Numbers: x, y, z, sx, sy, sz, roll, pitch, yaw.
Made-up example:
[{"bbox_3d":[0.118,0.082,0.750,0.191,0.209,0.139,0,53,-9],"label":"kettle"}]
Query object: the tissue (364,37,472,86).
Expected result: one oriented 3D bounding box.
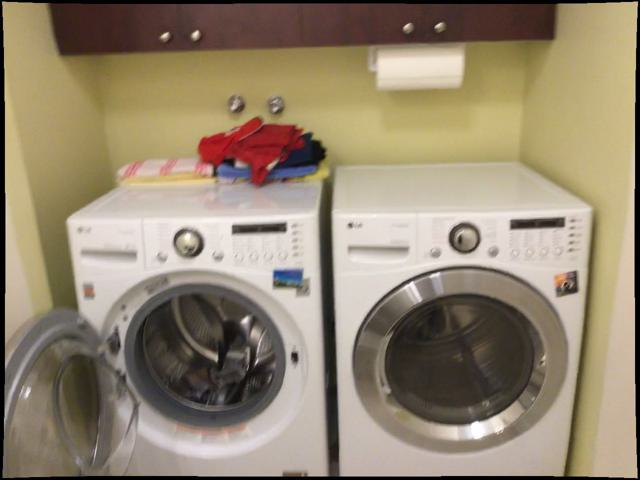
[{"bbox_3d":[0.320,-0.601,1.940,0.340,0.140,0.140,-1,19,4],"label":"tissue"}]
